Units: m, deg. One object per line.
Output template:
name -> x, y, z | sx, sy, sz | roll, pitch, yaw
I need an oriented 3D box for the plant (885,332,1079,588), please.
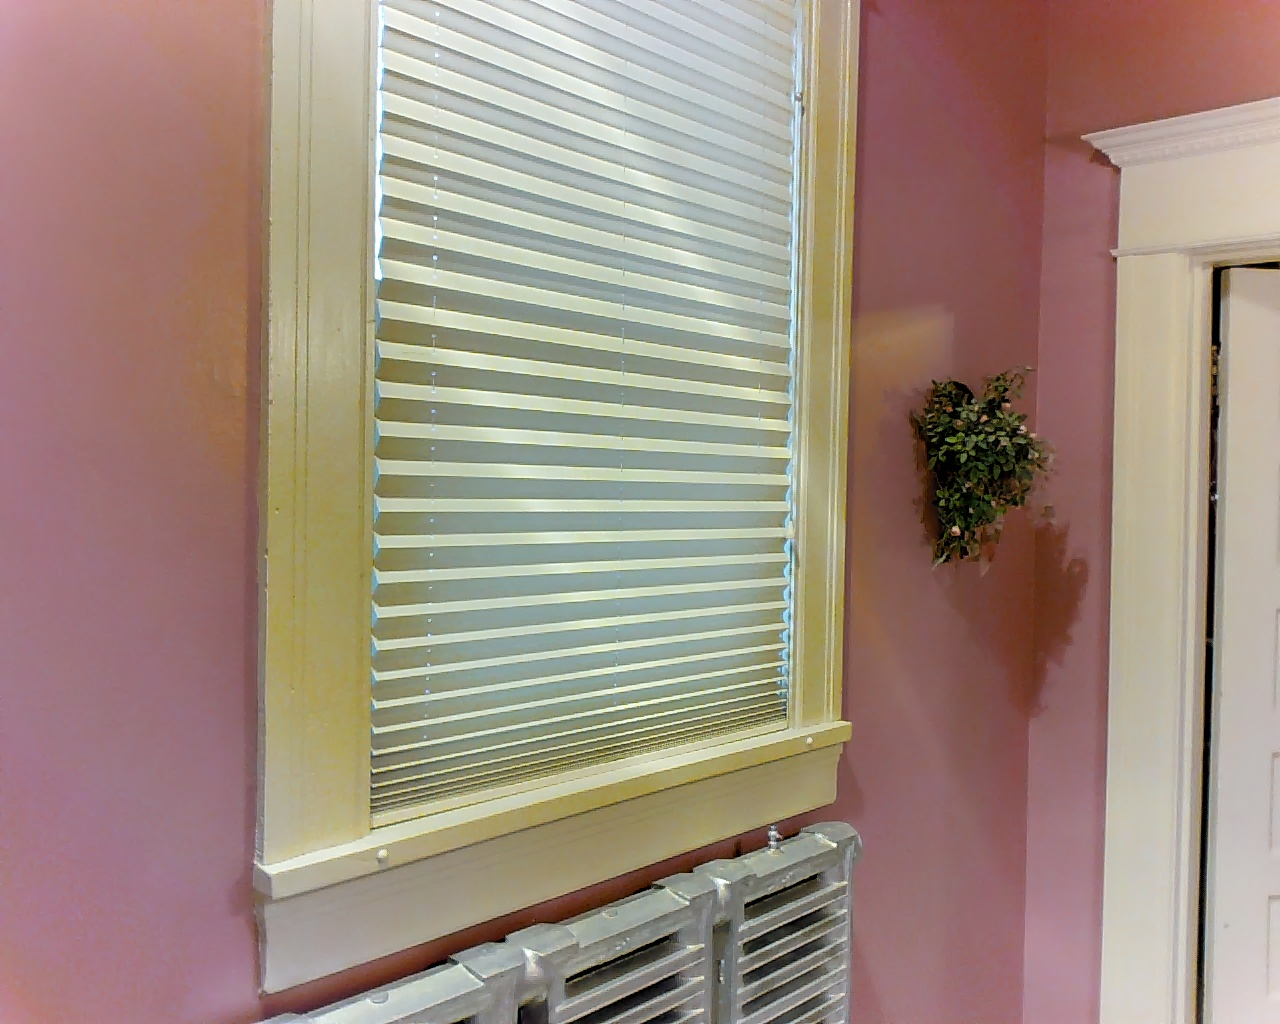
plant -> 0.660, -0.090, 2.060 | 0.190, 0.440, 0.390 | 2, 1, 44
